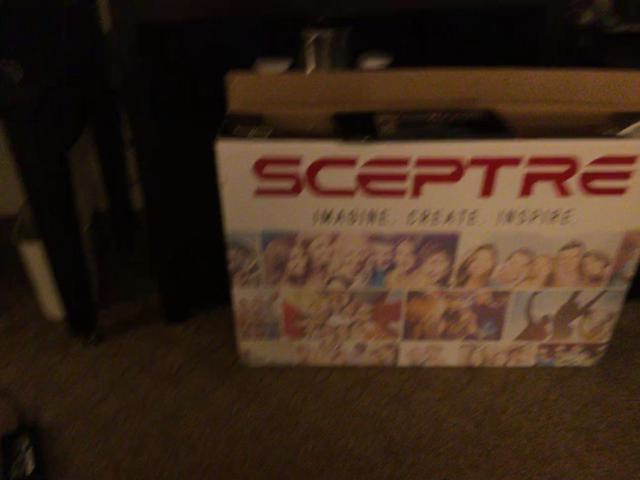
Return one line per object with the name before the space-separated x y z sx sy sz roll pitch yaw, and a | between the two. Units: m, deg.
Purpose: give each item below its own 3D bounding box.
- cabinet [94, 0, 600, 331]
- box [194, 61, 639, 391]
cabinet | 0.060 -0.300 1.750 1.120 0.970 0.560 -2 32 -2
box | 0.280 -0.020 1.510 1.060 0.800 0.310 1 32 2
